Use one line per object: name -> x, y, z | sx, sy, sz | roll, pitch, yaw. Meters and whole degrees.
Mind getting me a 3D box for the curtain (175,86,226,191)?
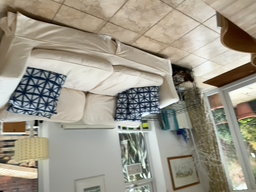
curtain -> 1.420, 0.940, 4.200 | 0.450, 2.270, 0.210 | -24, 156, 40
